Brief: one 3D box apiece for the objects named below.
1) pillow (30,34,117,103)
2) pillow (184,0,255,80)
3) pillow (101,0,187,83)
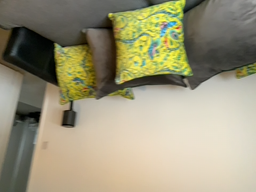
[{"bbox_3d":[-0.430,-0.230,1.830,0.500,0.470,0.350,-1,135,17],"label":"pillow"},{"bbox_3d":[0.550,-0.380,1.170,0.410,0.430,0.310,-7,145,24],"label":"pillow"},{"bbox_3d":[0.130,-0.350,1.330,0.450,0.440,0.270,-2,147,17],"label":"pillow"}]
